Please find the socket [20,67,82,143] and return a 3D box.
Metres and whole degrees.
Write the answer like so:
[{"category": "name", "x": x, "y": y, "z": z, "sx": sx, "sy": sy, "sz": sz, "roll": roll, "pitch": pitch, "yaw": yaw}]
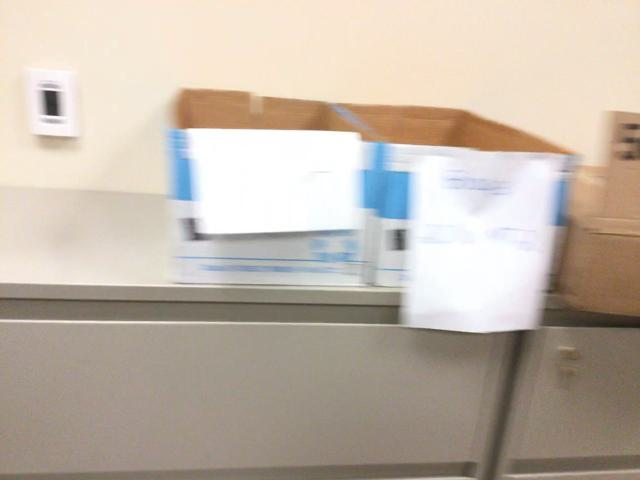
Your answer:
[{"category": "socket", "x": -0.520, "y": -0.260, "z": 1.120, "sx": 0.100, "sy": 0.130, "sz": 0.050, "roll": 4, "pitch": 14, "yaw": -14}]
